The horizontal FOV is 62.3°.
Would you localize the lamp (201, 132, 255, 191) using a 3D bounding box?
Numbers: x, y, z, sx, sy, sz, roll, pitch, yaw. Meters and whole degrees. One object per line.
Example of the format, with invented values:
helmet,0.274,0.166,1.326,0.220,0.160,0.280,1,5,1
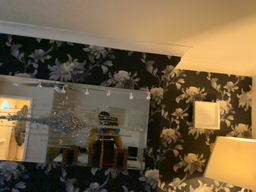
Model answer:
lamp,0.940,0.730,1.730,0.420,0.810,0.510,12,-11,-40
